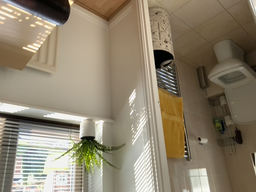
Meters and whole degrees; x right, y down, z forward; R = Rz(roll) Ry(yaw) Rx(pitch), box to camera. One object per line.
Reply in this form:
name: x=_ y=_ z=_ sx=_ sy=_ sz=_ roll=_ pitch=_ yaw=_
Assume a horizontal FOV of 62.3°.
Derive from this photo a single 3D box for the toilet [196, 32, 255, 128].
toilet: x=1.180 y=-0.140 z=2.350 sx=0.540 sy=0.840 sz=0.460 roll=16 pitch=151 yaw=-41
